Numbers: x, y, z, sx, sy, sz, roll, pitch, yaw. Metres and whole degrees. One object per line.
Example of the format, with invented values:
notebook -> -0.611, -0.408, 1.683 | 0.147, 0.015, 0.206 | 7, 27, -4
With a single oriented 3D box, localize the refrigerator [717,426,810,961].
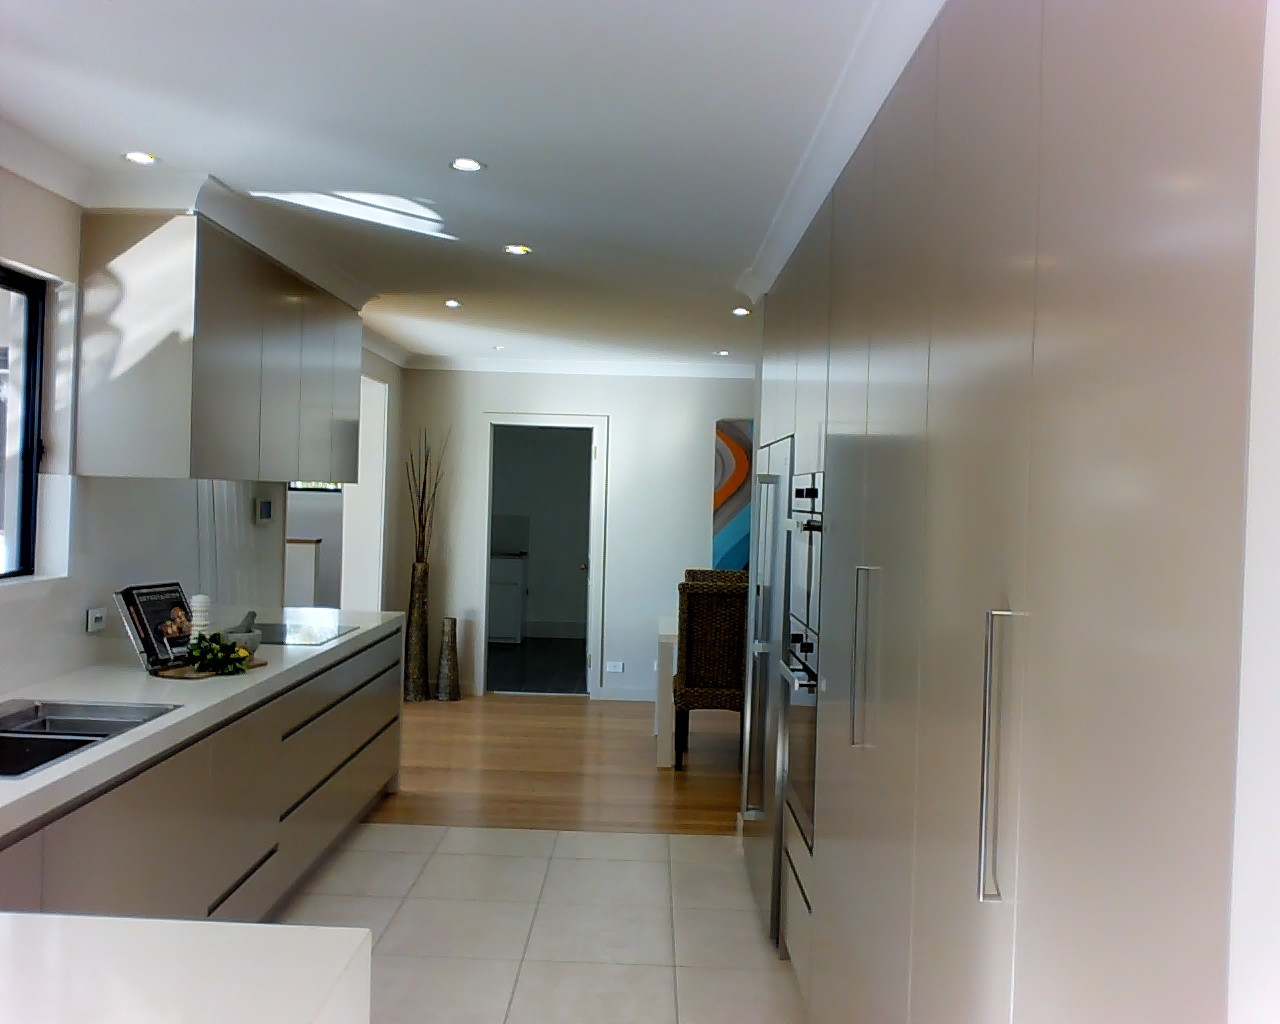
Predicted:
refrigerator -> 0.450, 0.600, 4.100 | 0.180, 1.781, 1.080 | 2, 1, 0
